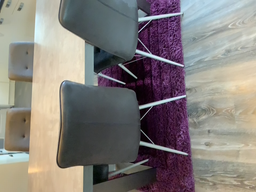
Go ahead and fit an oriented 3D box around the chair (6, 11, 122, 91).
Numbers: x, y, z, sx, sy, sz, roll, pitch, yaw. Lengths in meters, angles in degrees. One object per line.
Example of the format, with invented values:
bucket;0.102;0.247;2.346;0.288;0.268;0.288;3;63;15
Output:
chair;-0.580;-0.340;2.010;0.510;0.910;0.440;-14;76;49

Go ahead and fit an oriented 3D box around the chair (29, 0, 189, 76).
chair;-0.090;-0.440;1.410;0.510;0.920;0.430;-6;82;50

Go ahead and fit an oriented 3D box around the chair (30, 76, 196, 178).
chair;-0.060;0.170;1.340;0.510;0.900;0.410;-8;80;50
